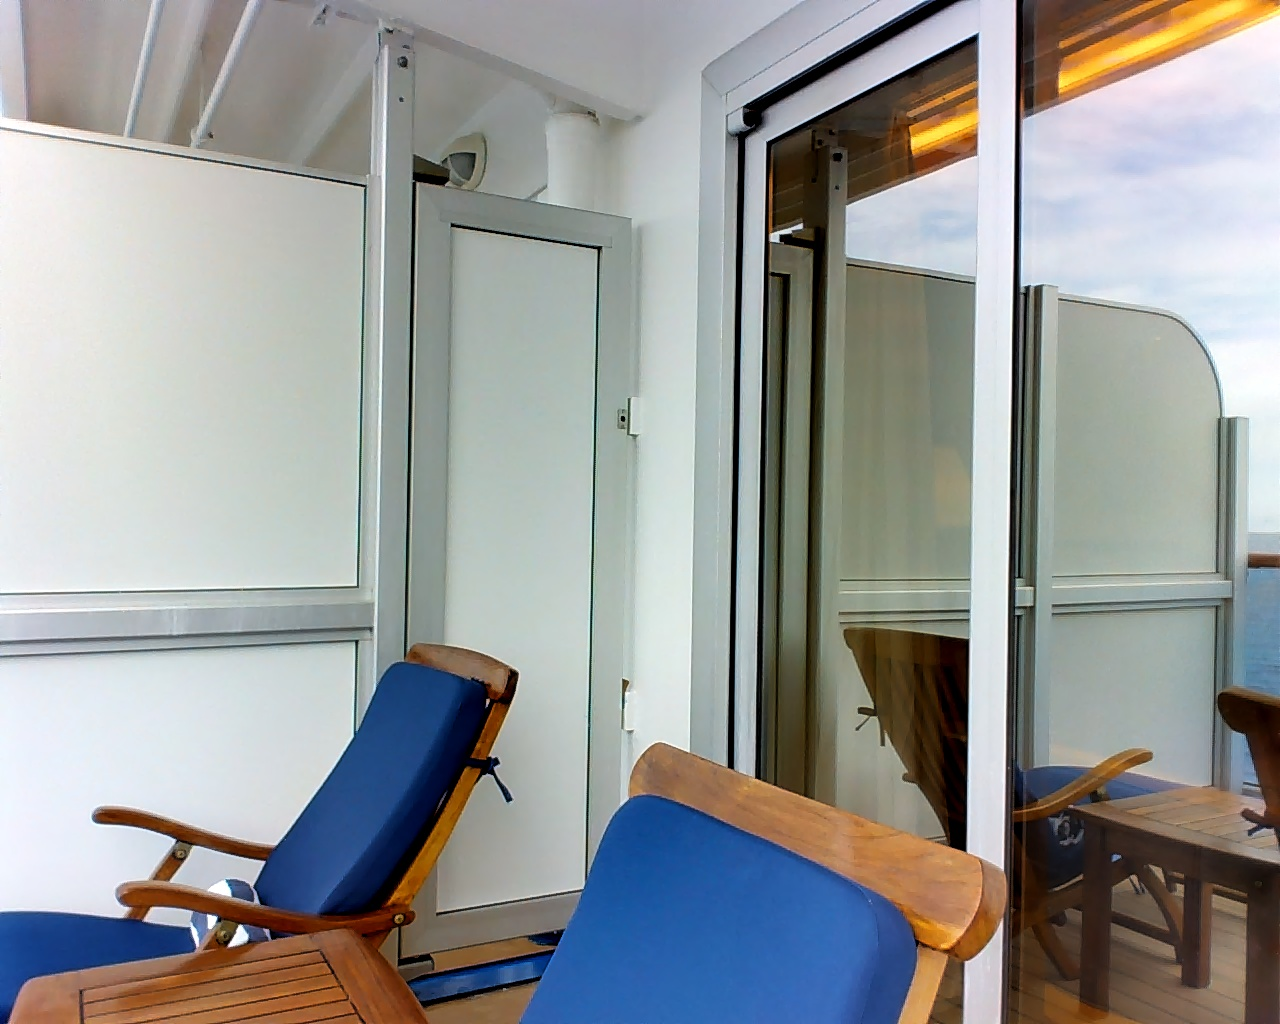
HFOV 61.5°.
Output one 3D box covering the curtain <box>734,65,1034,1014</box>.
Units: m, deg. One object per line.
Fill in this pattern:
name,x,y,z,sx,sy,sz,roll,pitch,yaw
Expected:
curtain,0.590,0.060,2.680,0.450,2.060,0.540,1,-1,-28
